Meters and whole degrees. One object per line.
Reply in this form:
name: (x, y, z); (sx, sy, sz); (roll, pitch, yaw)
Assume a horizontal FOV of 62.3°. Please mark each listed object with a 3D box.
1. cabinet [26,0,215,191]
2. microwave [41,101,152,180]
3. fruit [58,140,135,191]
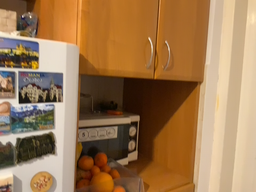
cabinet: (-0.090, 0.240, 1.030); (0.620, 2.190, 0.610); (-1, 6, -37)
microwave: (-0.170, 0.190, 1.140); (0.480, 0.280, 0.330); (-1, 6, -37)
fruit: (-0.130, 0.290, 0.860); (0.240, 0.140, 0.200); (-1, 6, -36)
